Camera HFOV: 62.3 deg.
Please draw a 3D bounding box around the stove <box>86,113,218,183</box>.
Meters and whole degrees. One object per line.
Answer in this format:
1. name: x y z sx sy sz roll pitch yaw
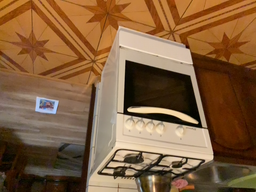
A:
1. stove: 0.090 0.350 1.240 0.540 0.160 0.590 12 145 -16
